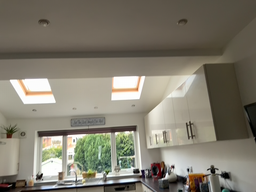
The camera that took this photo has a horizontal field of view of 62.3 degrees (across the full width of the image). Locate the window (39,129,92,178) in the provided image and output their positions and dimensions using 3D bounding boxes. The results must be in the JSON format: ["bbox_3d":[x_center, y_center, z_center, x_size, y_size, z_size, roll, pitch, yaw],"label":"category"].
[{"bbox_3d":[-1.400,1.290,4.820,1.120,0.980,0.170,-2,-14,-9],"label":"window"}]

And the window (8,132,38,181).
[{"bbox_3d":[-2.210,1.270,4.510,0.490,0.930,0.310,0,-14,-15],"label":"window"}]
